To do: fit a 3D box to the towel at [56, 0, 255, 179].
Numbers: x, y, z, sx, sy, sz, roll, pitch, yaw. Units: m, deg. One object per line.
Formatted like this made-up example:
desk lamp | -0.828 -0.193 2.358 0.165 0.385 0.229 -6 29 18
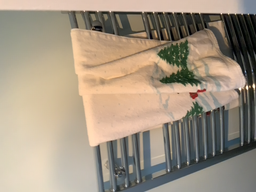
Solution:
towel | 0.160 -0.070 0.650 0.250 0.650 0.370 0 98 64
